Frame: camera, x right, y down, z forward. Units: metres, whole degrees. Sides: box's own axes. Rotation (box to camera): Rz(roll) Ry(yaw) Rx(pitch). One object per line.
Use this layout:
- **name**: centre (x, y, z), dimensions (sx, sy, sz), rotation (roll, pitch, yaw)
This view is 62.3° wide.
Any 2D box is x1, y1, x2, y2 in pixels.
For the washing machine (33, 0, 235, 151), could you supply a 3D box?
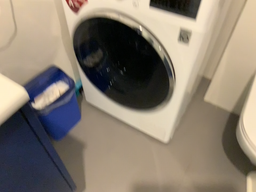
- **washing machine**: centre (0.080, -0.330, 1.150), dimensions (0.710, 0.860, 0.680), rotation (25, 55, 19)

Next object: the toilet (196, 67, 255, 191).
- **toilet**: centre (0.650, 0.200, 0.960), dimensions (0.380, 0.470, 0.540), rotation (27, 56, 20)
